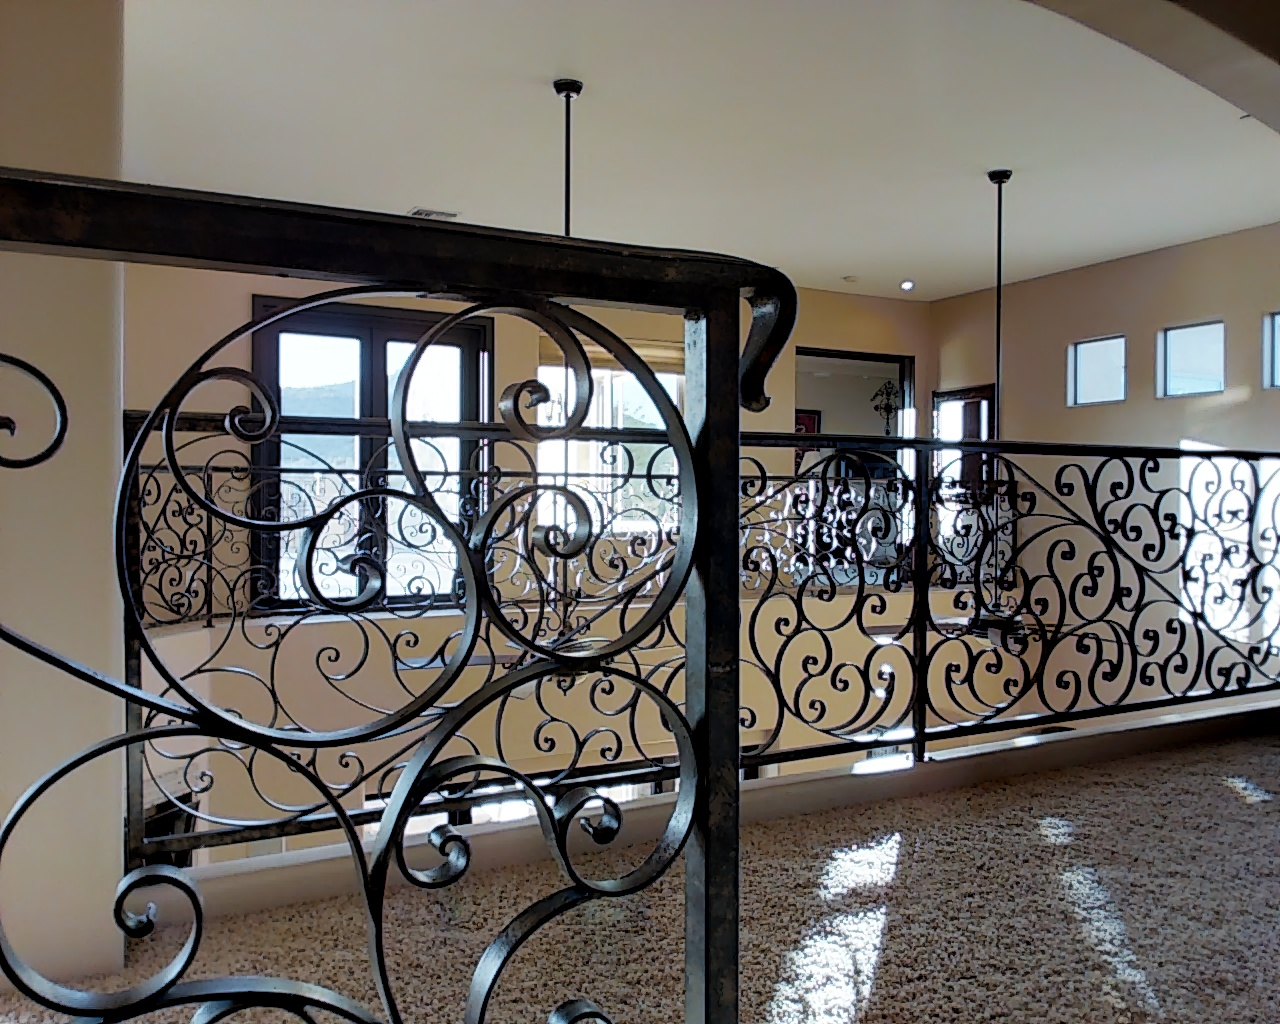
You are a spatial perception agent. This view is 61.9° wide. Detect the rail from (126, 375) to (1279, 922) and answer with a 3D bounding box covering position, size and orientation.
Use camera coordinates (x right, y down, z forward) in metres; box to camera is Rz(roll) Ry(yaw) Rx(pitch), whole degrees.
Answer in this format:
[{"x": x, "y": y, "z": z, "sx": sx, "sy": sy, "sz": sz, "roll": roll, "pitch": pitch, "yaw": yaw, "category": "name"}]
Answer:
[{"x": 0.890, "y": 0.290, "z": 3.440, "sx": 4.580, "sy": 1.150, "sz": 0.270, "roll": 0, "pitch": 1, "yaw": -28, "category": "rail"}]
